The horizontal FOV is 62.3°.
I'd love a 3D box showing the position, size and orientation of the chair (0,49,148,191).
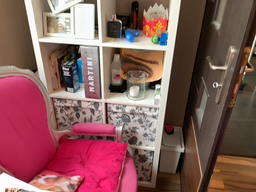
[{"bbox_3d":[-0.350,0.360,1.140,0.800,1.000,0.620,6,31,7],"label":"chair"}]
